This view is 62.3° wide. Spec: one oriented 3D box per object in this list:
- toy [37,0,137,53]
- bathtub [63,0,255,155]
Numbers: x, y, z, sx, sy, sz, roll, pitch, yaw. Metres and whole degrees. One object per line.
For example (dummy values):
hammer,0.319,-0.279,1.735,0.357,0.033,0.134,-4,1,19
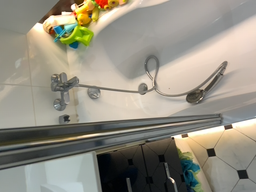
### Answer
toy,-0.240,-0.420,1.110,0.560,0.180,0.150,-19,76,36
bathtub,0.370,-0.230,1.100,1.390,0.580,0.780,-21,75,36
